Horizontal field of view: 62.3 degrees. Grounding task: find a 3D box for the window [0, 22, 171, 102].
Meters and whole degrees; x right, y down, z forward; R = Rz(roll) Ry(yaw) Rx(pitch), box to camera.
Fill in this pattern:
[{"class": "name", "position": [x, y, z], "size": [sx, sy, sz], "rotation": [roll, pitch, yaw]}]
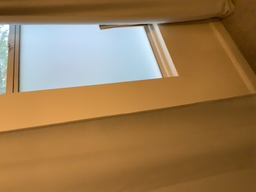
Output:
[{"class": "window", "position": [-0.560, -0.320, 1.700], "size": [0.020, 1.720, 0.750], "rotation": [107, 152, -56]}]
